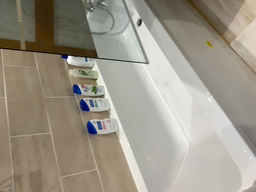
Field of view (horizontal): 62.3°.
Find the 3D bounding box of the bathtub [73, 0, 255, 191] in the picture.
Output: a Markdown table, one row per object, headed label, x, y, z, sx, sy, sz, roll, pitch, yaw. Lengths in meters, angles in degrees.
| label | x | y | z | sx | sy | sz | roll | pitch | yaw |
| --- | --- | --- | --- | --- | --- | --- | --- | --- | --- |
| bathtub | 0.220 | -0.140 | 1.400 | 0.710 | 0.590 | 1.670 | -55 | 48 | 39 |
